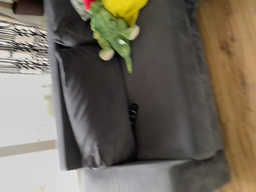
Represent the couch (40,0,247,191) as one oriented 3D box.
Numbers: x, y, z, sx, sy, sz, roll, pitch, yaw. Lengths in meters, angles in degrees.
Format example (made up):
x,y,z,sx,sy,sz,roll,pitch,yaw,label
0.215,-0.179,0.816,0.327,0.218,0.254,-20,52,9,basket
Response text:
x,y,z,sx,sy,sz,roll,pitch,yaw,label
0.010,0.100,1.510,1.010,0.800,1.170,-21,75,47,couch
